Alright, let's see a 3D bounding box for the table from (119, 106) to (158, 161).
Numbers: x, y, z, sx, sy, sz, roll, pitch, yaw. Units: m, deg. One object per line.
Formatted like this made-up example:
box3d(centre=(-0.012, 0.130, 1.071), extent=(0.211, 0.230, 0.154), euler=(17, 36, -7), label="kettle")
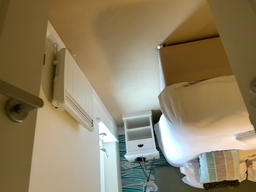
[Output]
box3d(centre=(0.160, 0.560, 3.090), extent=(0.440, 0.610, 0.540), euler=(-9, 154, 5), label="table")
